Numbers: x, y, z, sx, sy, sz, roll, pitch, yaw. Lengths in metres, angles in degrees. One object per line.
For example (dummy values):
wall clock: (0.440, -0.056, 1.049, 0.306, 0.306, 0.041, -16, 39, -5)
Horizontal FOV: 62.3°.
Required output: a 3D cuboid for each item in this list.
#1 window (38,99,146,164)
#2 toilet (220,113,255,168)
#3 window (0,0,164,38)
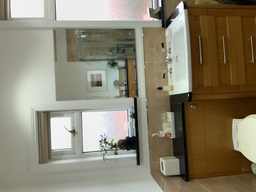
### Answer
window: (-0.350, 0.340, 2.180, 0.240, 1.020, 0.570, 157, 111, -81)
toilet: (1.140, 0.340, 1.740, 0.550, 0.470, 0.380, 161, 107, -81)
window: (-0.480, -1.090, 2.270, 0.220, 1.690, 0.860, 161, 107, -81)
